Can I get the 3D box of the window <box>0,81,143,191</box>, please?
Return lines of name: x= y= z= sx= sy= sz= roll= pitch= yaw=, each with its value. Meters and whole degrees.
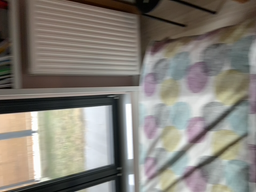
window: x=-0.860 y=0.770 z=1.560 sx=0.210 sy=2.330 sz=1.730 roll=3 pitch=95 yaw=54

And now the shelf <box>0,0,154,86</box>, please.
shelf: x=-0.820 y=-0.460 z=1.380 sx=0.300 sy=2.380 sz=0.790 roll=5 pitch=96 yaw=54
